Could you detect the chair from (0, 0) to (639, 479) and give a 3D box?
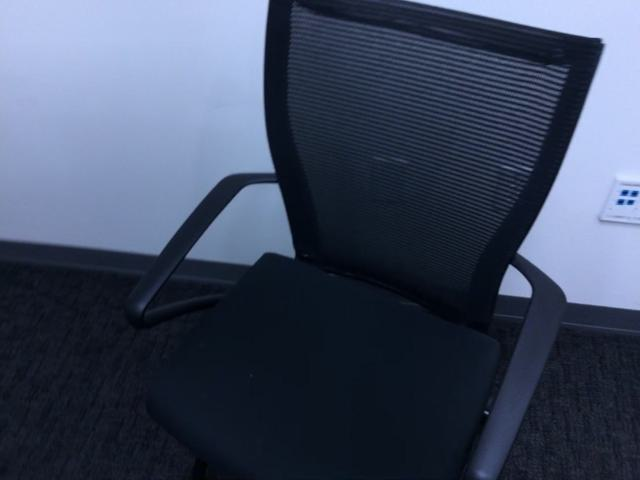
[{"bbox_3d":[0.030,0.160,0.960,0.630,0.950,0.540,19,49,20],"label":"chair"}]
